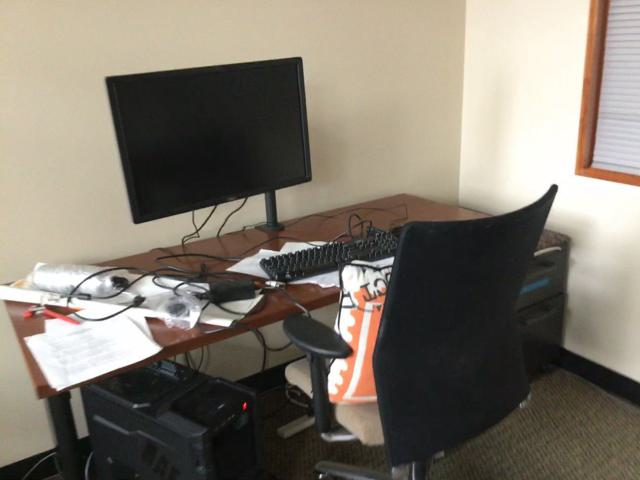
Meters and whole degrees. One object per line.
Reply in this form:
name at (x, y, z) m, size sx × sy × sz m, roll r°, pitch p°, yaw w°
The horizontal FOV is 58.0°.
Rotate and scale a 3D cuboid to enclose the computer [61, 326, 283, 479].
computer at (-0.420, 0.610, 1.640) m, size 0.410 × 0.480 × 0.550 m, roll -14°, pitch 19°, yaw -31°
